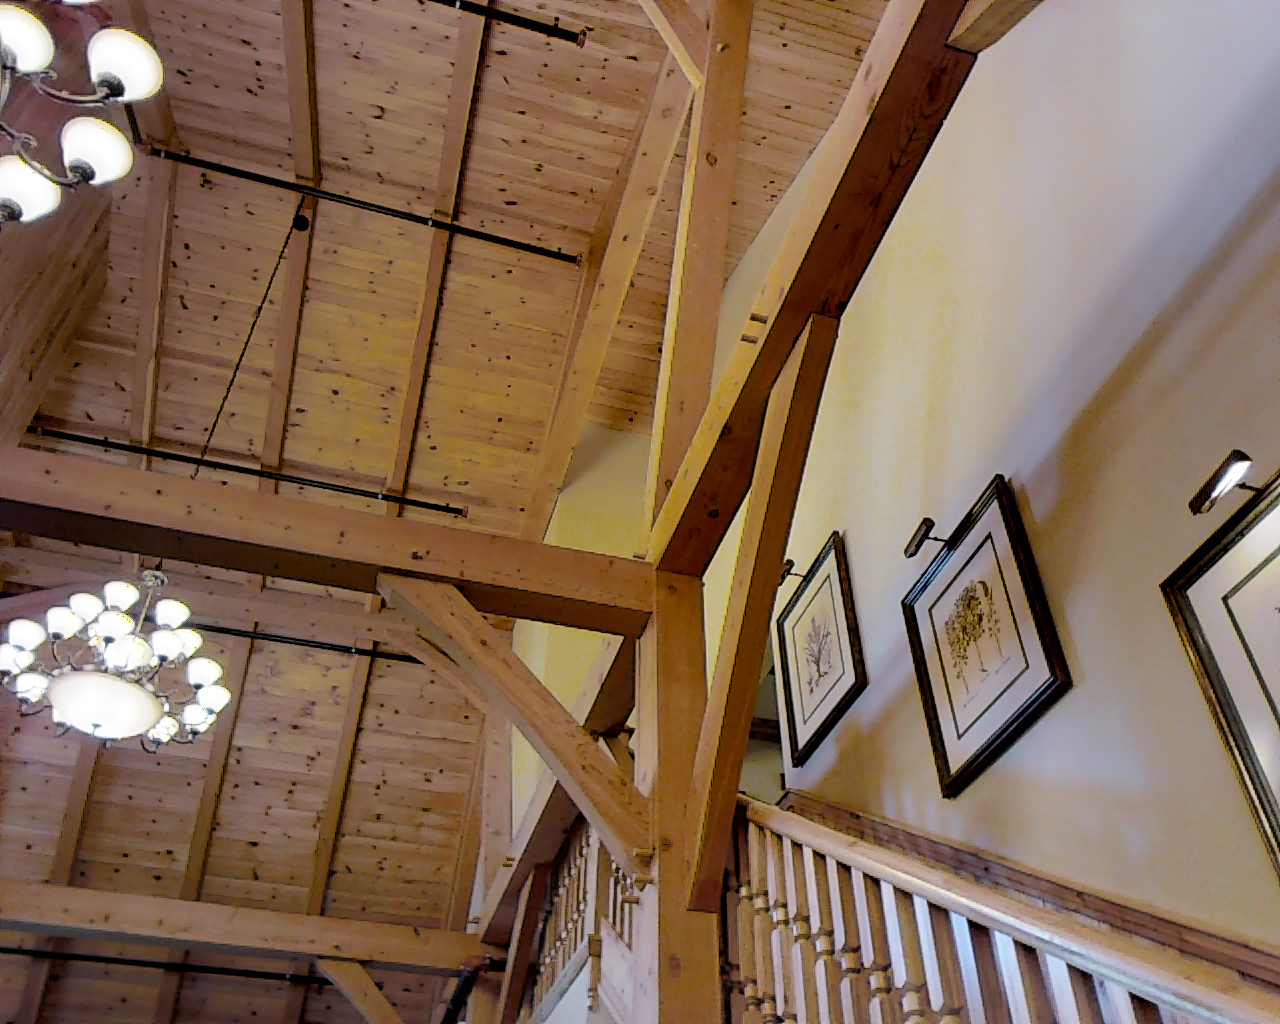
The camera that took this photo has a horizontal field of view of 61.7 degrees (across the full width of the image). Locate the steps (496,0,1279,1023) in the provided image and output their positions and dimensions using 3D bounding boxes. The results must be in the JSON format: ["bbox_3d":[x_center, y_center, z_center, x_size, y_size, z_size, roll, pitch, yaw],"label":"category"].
[{"bbox_3d":[0.870,1.311,2.430,1.499,4.401,5.591,12,-43,-12],"label":"steps"}]

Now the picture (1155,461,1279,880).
[{"bbox_3d":[1.729,0.290,2.650,0.060,0.960,0.880,11,-44,-12],"label":"picture"}]

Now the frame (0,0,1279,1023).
[{"bbox_3d":[-2.259,1.231,3.240,4.598,5.542,8.391,12,-43,-12],"label":"frame"}]

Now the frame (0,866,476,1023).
[{"bbox_3d":[-3.388,3.032,6.750,4.548,1.300,0.340,12,-43,-12],"label":"frame"}]
